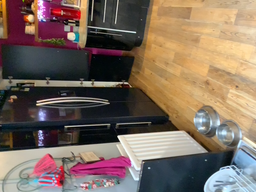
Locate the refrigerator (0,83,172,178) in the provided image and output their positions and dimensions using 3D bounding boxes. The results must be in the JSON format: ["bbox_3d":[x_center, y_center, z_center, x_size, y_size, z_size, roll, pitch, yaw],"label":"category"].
[{"bbox_3d":[-0.570,0.310,2.630,0.960,1.880,0.620,-133,47,-59],"label":"refrigerator"}]
